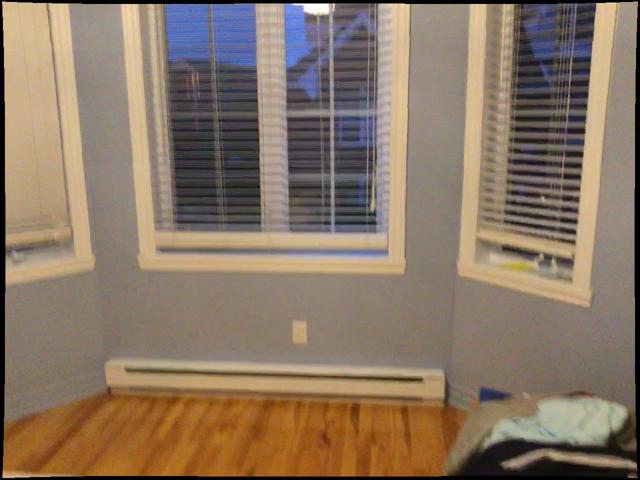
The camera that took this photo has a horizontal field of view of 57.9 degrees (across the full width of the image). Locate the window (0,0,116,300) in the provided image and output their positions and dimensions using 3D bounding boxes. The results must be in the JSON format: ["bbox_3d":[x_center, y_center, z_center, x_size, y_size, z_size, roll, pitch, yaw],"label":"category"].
[{"bbox_3d":[-1.349,-0.581,2.520,0.549,1.602,0.470,0,15,7],"label":"window"}]

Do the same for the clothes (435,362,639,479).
[{"bbox_3d":[0.689,0.601,1.820,0.609,0.250,0.410,0,15,7],"label":"clothes"}]

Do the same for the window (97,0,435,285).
[{"bbox_3d":[-0.220,-0.551,2.630,1.419,1.491,0.240,0,15,7],"label":"window"}]

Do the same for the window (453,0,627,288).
[{"bbox_3d":[0.799,-0.501,2.220,0.480,1.281,0.440,0,15,7],"label":"window"}]
